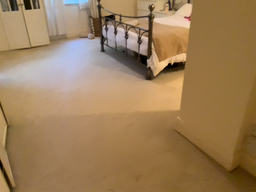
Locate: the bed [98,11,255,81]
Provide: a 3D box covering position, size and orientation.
[{"bbox_3d":[0.810,-1.020,3.670,2.130,0.530,1.590,-17,33,-27],"label":"bed"}]
